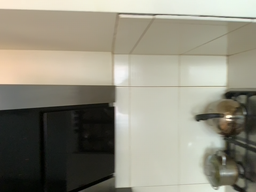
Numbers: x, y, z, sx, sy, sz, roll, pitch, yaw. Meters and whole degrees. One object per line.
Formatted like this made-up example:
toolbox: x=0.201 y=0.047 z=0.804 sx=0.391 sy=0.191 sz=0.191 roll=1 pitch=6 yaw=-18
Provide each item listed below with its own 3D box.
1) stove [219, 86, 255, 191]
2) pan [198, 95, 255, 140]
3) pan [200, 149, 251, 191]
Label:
stove: x=0.620 y=0.240 z=1.060 sx=0.530 sy=0.030 sz=0.580 roll=-157 pitch=67 yaw=-83
pan: x=0.540 y=0.100 z=1.150 sx=0.270 sy=0.210 sz=0.200 roll=-153 pitch=63 yaw=-82
pan: x=0.540 y=0.420 z=1.200 sx=0.220 sy=0.160 sz=0.160 roll=-137 pitch=47 yaw=-81
